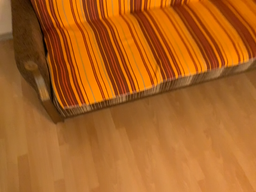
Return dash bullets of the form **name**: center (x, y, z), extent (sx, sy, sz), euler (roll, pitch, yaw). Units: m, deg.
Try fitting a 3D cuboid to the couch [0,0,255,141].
- **couch**: center (0.370, -0.600, 1.400), extent (2.120, 0.930, 0.960), euler (-15, 63, -12)
